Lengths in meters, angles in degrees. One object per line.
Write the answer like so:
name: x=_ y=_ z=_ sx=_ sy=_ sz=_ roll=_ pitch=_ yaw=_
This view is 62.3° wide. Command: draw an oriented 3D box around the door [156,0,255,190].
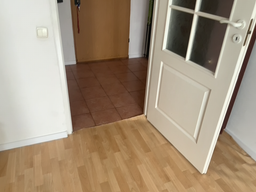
door: x=0.550 y=-0.330 z=1.500 sx=0.120 sy=2.060 sz=0.780 roll=-10 pitch=33 yaw=-20
